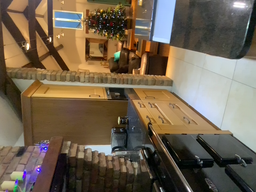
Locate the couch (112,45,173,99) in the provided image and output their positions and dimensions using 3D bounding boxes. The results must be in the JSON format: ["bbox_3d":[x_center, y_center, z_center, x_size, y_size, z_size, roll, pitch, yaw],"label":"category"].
[{"bbox_3d":[0.230,-0.460,4.620,1.300,0.980,0.960,-171,84,-79],"label":"couch"}]
